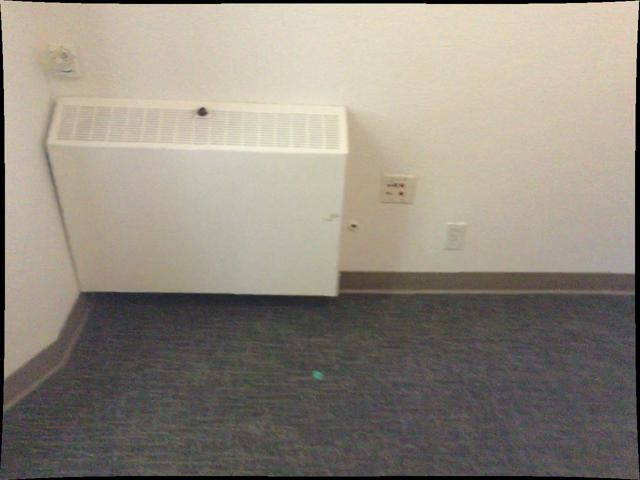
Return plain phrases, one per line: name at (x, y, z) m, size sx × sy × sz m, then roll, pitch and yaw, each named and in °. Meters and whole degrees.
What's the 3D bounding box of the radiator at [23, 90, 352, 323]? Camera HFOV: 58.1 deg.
radiator at (-0.399, -0.080, 1.970) m, size 0.938 × 0.781 × 0.200 m, roll 1°, pitch 35°, yaw -3°
